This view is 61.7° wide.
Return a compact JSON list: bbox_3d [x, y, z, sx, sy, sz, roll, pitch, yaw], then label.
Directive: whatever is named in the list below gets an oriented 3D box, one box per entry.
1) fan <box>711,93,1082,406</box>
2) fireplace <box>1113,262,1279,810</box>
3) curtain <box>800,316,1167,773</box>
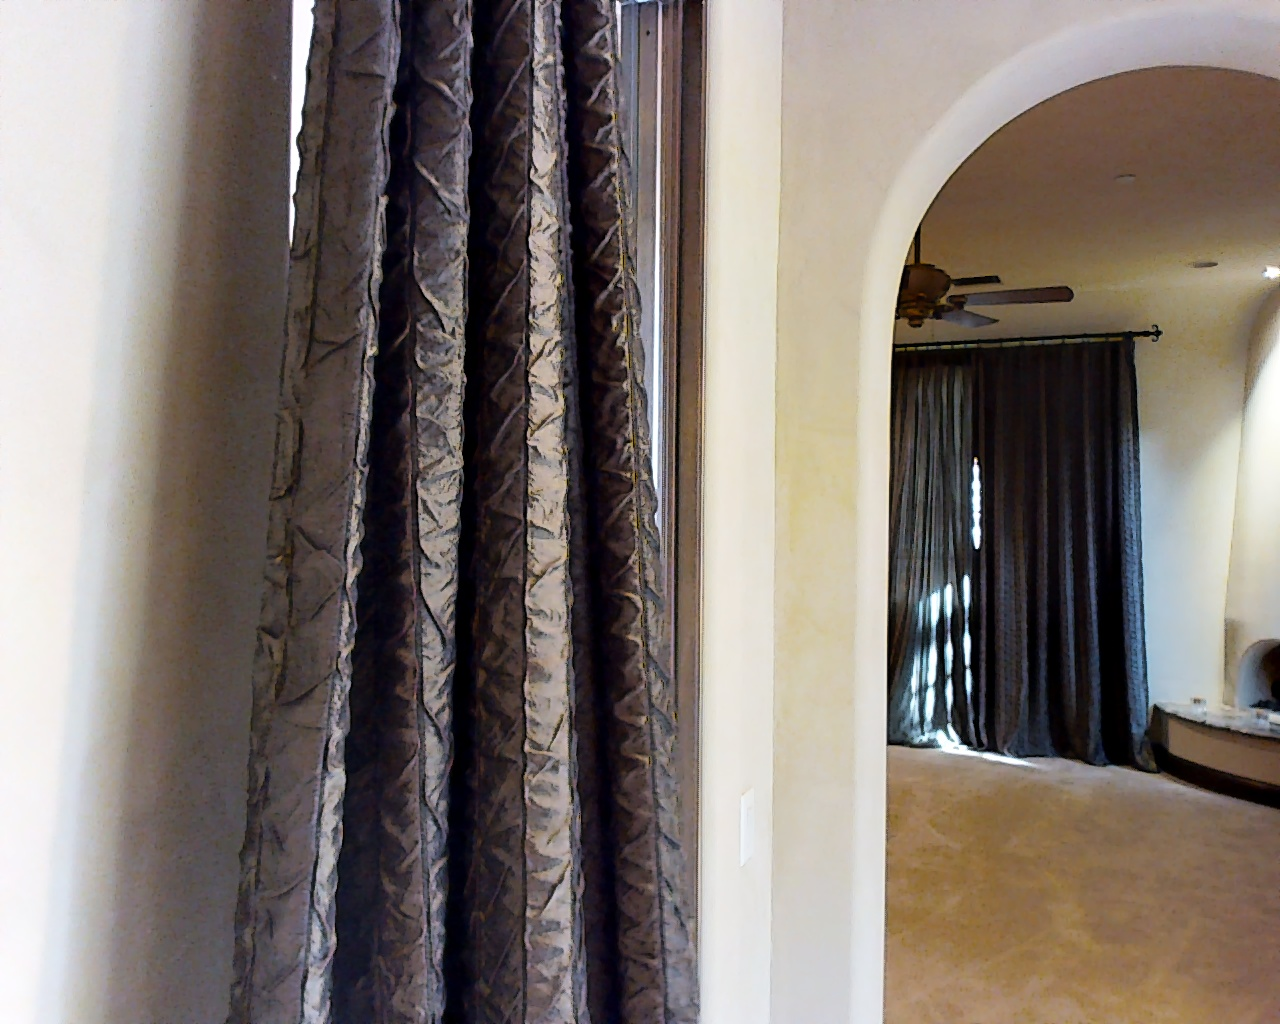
[{"bbox_3d":[1.210,-1.060,4.770,1.350,0.560,1.350,1,-23,25],"label":"fan"},{"bbox_3d":[3.760,0.130,6.270,0.950,2.950,1.590,1,0,-20],"label":"fireplace"},{"bbox_3d":[2.260,0.190,7.220,2.290,2.800,0.400,0,0,25],"label":"curtain"}]
